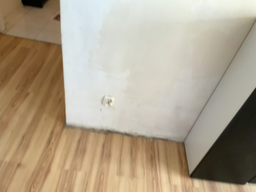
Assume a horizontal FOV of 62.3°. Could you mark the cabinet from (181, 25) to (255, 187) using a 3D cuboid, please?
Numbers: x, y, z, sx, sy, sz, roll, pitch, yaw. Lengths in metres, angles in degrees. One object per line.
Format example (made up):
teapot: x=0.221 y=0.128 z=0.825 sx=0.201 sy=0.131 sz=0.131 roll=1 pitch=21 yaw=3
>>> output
cabinet: x=0.700 y=0.150 z=1.270 sx=0.400 sy=1.000 sz=0.310 roll=10 pitch=43 yaw=-4
